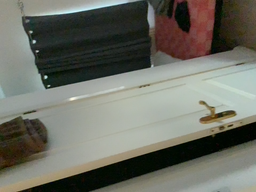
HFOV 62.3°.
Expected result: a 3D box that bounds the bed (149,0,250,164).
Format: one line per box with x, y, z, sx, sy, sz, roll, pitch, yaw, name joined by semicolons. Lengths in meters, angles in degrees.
0.680;-0.350;2.470;1.050;0.460;1.980;-121;22;-57;bed
